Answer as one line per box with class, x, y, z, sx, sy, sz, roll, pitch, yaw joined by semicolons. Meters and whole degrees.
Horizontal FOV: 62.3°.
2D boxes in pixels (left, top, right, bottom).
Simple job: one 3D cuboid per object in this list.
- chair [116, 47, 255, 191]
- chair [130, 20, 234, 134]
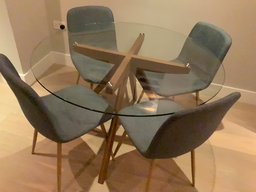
chair;0.250;0.210;1.330;0.400;0.810;0.550;-15;42;-25
chair;0.380;-0.160;1.810;0.550;0.810;0.440;-8;40;-18
